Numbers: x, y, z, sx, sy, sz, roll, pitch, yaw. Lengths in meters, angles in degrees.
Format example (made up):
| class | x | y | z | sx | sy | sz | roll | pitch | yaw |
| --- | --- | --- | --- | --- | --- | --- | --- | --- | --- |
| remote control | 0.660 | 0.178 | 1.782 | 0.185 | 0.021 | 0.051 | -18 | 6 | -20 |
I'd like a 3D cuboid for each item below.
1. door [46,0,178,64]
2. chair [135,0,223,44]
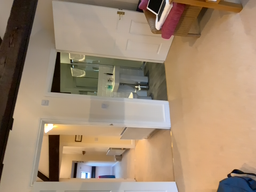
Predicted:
| class | x | y | z | sx | sy | sz | roll | pitch | yaw |
| --- | --- | --- | --- | --- | --- | --- | --- | --- | --- |
| door | -0.270 | -1.040 | 3.560 | 0.990 | 2.000 | 0.070 | 104 | 165 | -45 |
| chair | 0.550 | -1.250 | 2.610 | 0.710 | 0.750 | 0.860 | 111 | 160 | -57 |
